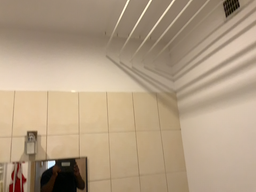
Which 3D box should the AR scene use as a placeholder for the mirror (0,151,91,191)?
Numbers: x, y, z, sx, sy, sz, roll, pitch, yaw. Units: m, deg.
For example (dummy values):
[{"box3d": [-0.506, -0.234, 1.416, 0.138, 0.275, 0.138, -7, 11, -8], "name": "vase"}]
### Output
[{"box3d": [-0.570, 0.530, 1.280, 0.680, 0.340, 0.070, 1, -16, -21], "name": "mirror"}]
